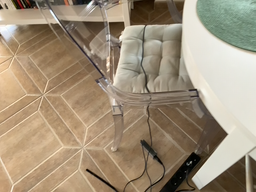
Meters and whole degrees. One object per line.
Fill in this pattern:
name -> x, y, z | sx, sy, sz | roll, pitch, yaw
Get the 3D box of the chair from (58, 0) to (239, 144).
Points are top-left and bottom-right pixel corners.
chair -> 0.100, -0.120, 1.000 | 0.480, 0.800, 0.390 | 5, 60, 8
